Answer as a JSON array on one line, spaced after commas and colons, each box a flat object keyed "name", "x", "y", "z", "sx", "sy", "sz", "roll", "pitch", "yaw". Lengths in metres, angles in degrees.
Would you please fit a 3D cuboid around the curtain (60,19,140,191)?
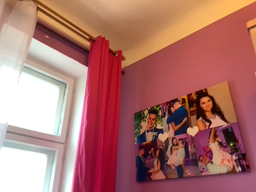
[{"name": "curtain", "x": -0.230, "y": 0.340, "z": 2.160, "sx": 0.420, "sy": 2.310, "sz": 0.580, "roll": -22, "pitch": -34, "yaw": 39}]

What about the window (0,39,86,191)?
[{"name": "window", "x": -0.930, "y": 0.590, "z": 1.950, "sx": 0.270, "sy": 2.120, "sz": 0.870, "roll": -22, "pitch": -34, "yaw": 39}]
